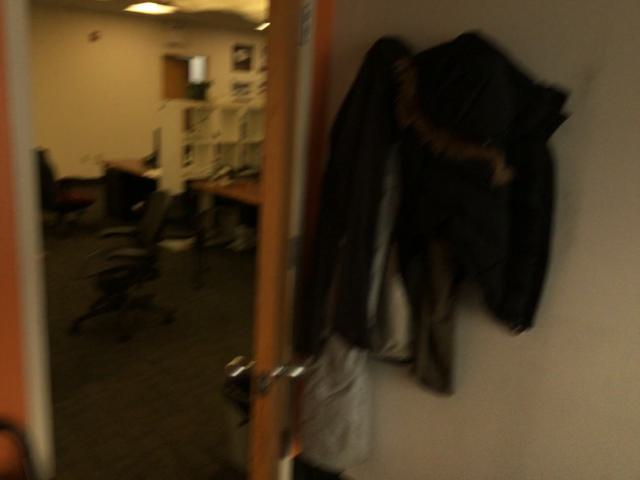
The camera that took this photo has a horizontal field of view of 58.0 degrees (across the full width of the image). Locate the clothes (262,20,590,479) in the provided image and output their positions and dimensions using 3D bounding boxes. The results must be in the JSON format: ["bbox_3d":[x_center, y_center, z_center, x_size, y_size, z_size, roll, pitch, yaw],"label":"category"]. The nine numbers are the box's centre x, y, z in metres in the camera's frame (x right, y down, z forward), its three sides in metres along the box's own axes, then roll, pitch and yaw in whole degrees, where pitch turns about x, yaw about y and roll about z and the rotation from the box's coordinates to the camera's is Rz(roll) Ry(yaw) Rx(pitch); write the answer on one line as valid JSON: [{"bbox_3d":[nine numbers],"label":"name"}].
[{"bbox_3d":[0.230,0.220,1.870,0.250,1.680,0.880,-8,18,-44],"label":"clothes"}]

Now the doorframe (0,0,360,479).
[{"bbox_3d":[-0.410,0.020,1.800,0.220,2.220,1.170,16,17,42],"label":"doorframe"}]
